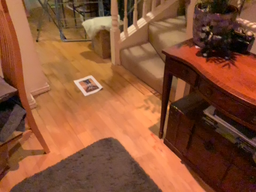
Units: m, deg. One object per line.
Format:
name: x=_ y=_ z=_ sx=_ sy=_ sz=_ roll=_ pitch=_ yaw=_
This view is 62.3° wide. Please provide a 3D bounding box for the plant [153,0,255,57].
plant: x=0.460 y=-0.620 z=1.170 sx=0.460 sy=0.580 sz=0.390 roll=-26 pitch=46 yaw=-28
